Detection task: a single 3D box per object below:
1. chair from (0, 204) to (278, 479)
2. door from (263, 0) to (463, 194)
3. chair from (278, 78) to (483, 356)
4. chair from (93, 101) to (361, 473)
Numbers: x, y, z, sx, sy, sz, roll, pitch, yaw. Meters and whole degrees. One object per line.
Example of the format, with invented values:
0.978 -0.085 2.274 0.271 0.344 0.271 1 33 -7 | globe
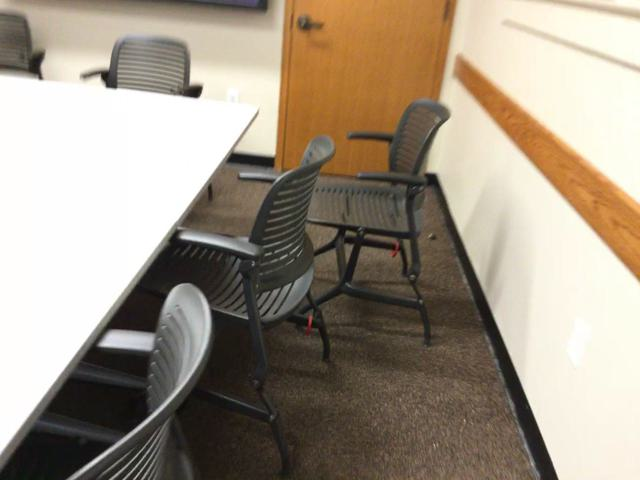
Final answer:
-0.400 0.450 0.900 0.520 0.790 0.610 8 24 1 | chair
0.270 -1.290 3.360 1.040 2.000 0.080 8 24 1 | door
0.180 -0.110 2.260 0.570 0.870 0.600 6 24 -3 | chair
-0.230 0.100 1.690 0.580 0.820 0.610 8 24 1 | chair
